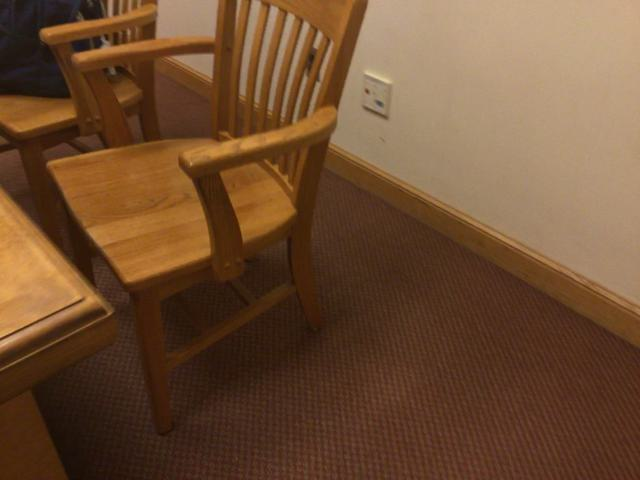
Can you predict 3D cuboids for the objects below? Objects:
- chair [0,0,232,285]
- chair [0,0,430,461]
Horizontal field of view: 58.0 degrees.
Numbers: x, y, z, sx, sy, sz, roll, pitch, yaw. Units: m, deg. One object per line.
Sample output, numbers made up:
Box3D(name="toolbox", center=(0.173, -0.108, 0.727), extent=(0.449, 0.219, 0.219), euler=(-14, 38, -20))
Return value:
Box3D(name="chair", center=(-0.730, -0.490, 1.700), extent=(0.650, 0.850, 0.640), euler=(-29, 49, -34))
Box3D(name="chair", center=(-0.270, -0.140, 1.320), extent=(0.630, 0.870, 0.630), euler=(-29, 49, -34))
